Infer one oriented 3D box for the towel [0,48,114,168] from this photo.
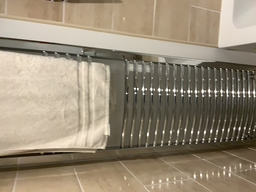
[{"bbox_3d":[-0.350,0.040,0.740,0.100,0.580,0.380,-164,77,-66],"label":"towel"}]
